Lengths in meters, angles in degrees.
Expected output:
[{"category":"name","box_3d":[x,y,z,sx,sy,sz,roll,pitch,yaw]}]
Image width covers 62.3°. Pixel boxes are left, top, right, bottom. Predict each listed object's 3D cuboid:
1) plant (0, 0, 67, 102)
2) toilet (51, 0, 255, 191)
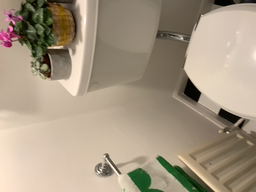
[{"category":"plant","box_3d":[-0.300,-0.190,0.650,0.150,0.160,0.370,40,128,42]},{"category":"toilet","box_3d":[0.280,-0.150,0.800,0.730,0.880,0.470,40,128,42]}]
